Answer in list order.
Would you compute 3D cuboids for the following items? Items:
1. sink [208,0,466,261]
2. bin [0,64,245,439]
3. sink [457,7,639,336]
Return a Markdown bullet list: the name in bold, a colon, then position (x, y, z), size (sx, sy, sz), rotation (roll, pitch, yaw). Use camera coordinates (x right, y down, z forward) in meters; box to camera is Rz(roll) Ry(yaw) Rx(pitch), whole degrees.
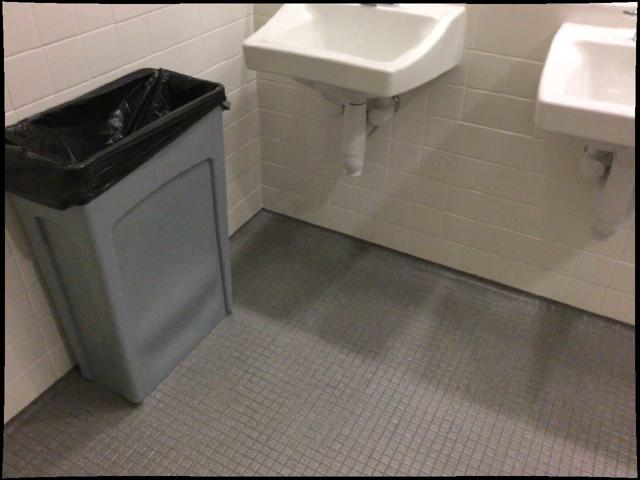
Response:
- **sink**: position (0.040, -0.381, 1.720), size (0.539, 0.581, 0.470), rotation (22, 38, 22)
- **bin**: position (-0.499, 0.020, 1.580), size (0.300, 0.801, 0.580), rotation (21, 38, 21)
- **sink**: position (0.738, -0.180, 1.430), size (0.549, 0.581, 0.460), rotation (22, 38, 22)
